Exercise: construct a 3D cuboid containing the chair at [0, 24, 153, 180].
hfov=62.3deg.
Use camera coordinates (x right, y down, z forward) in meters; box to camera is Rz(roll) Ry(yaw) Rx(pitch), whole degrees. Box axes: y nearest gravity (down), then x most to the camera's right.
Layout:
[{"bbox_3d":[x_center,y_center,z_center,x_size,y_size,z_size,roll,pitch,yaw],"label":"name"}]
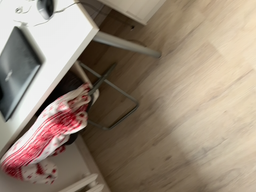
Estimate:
[{"bbox_3d":[-0.330,0.030,1.240,0.480,0.800,0.480,-40,72,26],"label":"chair"}]
